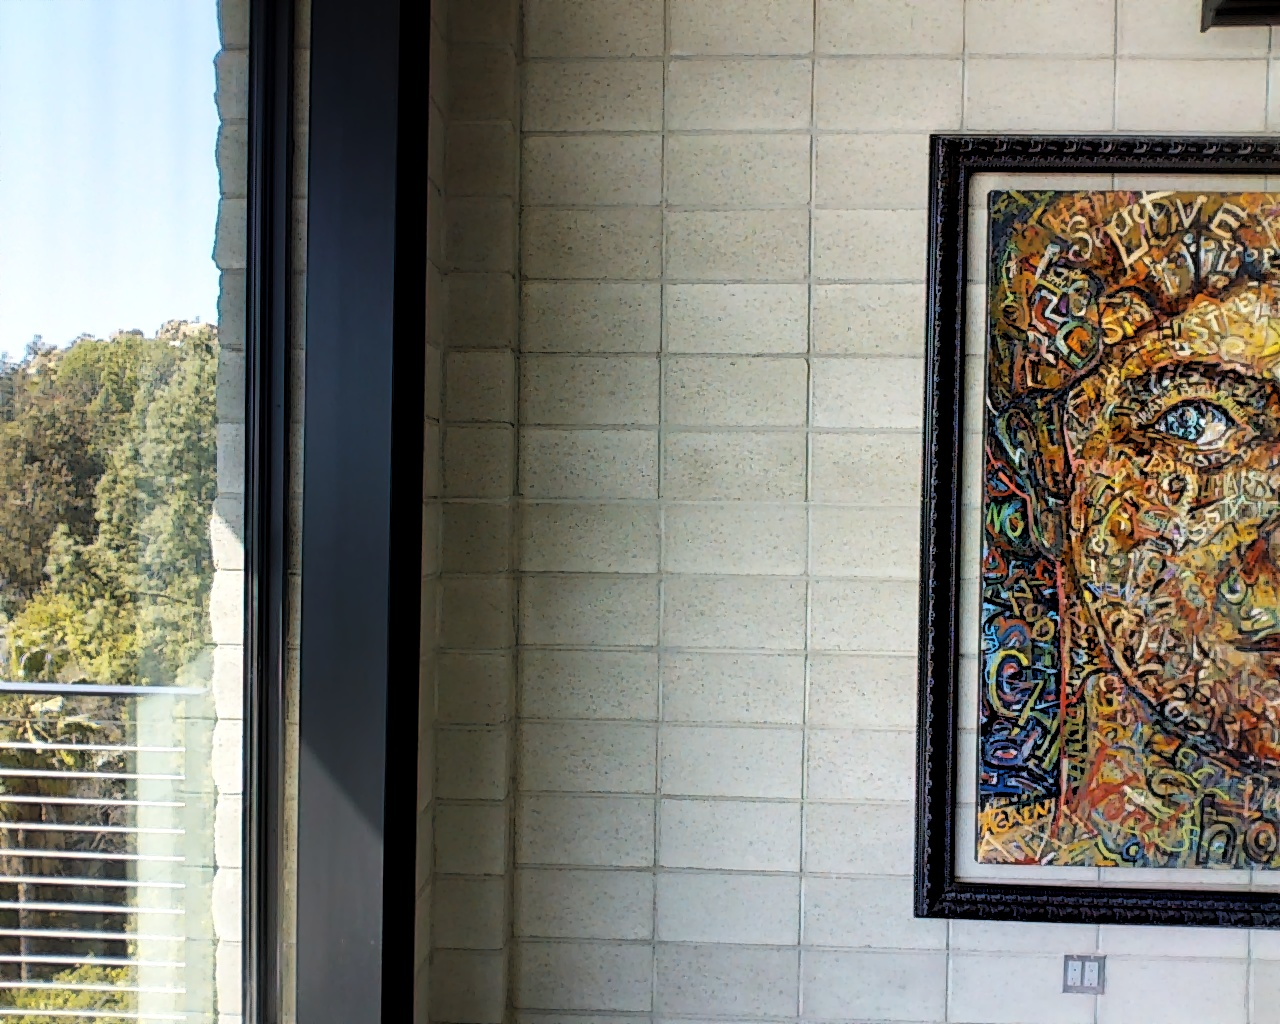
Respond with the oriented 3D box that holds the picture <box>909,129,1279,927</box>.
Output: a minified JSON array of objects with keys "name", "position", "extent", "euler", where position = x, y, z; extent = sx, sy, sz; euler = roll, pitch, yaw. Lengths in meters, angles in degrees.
[{"name":"picture","position":[1.730,0.060,2.910],"extent":[1.920,2.100,0.100],"euler":[1,1,0]}]
